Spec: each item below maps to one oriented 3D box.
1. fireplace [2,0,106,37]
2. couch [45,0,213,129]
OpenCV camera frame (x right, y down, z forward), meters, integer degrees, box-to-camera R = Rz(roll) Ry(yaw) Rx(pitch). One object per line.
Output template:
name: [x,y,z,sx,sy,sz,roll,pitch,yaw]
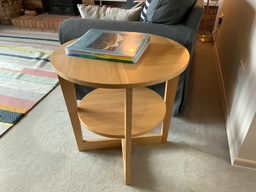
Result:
fireplace: [-1.130,-1.590,3.410,1.240,0.880,1.010,9,34,12]
couch: [0.210,-0.670,2.030,0.920,0.840,1.780,10,34,14]
